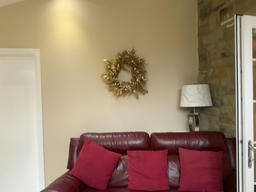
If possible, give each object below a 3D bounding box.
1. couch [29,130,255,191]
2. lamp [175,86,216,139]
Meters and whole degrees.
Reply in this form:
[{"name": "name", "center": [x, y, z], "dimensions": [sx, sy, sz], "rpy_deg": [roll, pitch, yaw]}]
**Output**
[{"name": "couch", "center": [0.200, 0.940, 2.330], "dimensions": [2.110, 0.950, 0.960], "rpy_deg": [-1, 2, 6]}, {"name": "lamp", "center": [0.960, 0.210, 3.050], "dimensions": [0.400, 0.690, 0.430], "rpy_deg": [-2, 2, -11]}]
